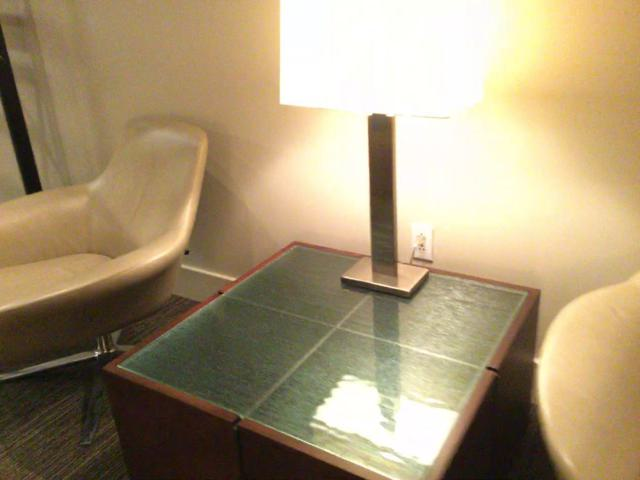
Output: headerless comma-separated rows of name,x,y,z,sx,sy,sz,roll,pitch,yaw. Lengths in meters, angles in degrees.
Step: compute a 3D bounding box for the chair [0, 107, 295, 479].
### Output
chair,-0.730,0.080,1.870,0.890,0.790,0.880,-22,29,-38
